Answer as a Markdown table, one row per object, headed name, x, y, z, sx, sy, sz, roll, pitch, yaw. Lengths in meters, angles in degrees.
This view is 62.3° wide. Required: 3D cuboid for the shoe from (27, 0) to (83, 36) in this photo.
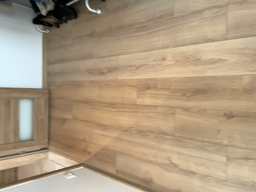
| name | x | y | z | sx | sy | sz | roll | pitch | yaw |
| --- | --- | --- | --- | --- | --- | --- | --- | --- | --- |
| shoe | -0.850 | -1.030 | 2.400 | 0.740 | 0.250 | 0.480 | -5 | 87 | 41 |
